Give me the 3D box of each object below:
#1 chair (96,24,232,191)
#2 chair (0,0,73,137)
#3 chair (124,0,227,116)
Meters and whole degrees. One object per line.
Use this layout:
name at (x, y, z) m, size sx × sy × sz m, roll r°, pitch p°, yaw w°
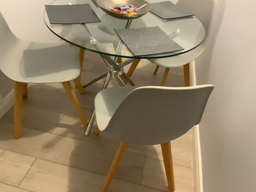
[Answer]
chair at (0.060, 0.120, 1.080) m, size 0.420 × 0.790 × 0.450 m, roll 0°, pitch 41°, yaw -10°
chair at (-0.610, -0.200, 1.330) m, size 0.470 × 0.790 × 0.480 m, roll -2°, pitch 42°, yaw -12°
chair at (0.310, -0.340, 1.650) m, size 0.450 × 0.790 × 0.420 m, roll -26°, pitch 51°, yaw -33°
